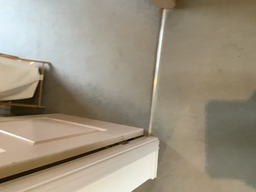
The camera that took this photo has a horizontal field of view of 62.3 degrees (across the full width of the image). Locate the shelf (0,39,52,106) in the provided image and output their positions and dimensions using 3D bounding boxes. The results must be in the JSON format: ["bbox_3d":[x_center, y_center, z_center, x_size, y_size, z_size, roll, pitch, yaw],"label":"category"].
[{"bbox_3d":[-1.100,-0.200,1.800,0.570,0.600,0.480,7,94,31],"label":"shelf"}]
